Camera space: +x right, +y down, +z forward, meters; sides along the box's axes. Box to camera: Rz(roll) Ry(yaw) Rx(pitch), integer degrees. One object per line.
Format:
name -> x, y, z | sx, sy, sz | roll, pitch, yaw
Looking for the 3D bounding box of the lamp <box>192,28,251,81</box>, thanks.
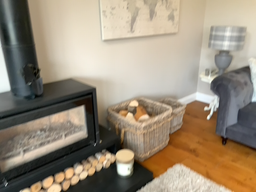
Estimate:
lamp -> 1.210, -0.570, 2.790 | 0.500, 0.590, 0.450 | -16, 25, -36
